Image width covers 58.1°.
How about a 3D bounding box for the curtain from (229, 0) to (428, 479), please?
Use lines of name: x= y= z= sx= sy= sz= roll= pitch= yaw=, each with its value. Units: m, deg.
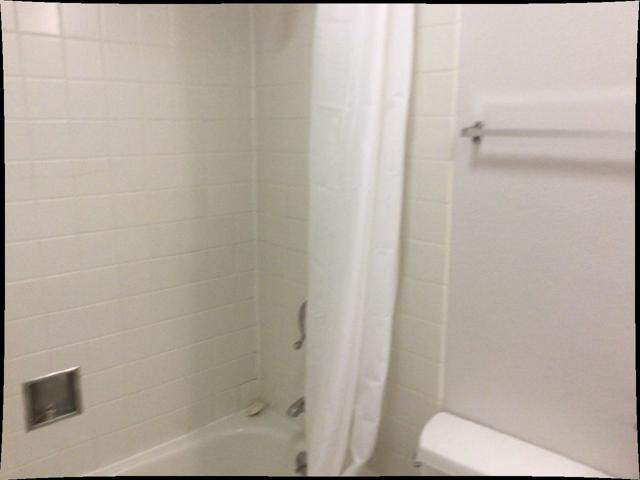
curtain: x=0.020 y=-0.030 z=1.580 sx=0.370 sy=1.943 sz=0.330 roll=-12 pitch=19 yaw=-39
